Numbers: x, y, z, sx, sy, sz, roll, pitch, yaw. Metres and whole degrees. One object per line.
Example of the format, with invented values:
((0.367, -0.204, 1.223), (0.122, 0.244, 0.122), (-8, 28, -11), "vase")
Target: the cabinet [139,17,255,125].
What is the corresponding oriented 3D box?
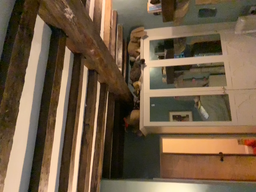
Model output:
((1.400, -0.410, 3.920), (0.710, 2.270, 1.730), (60, -150, -67), "cabinet")
